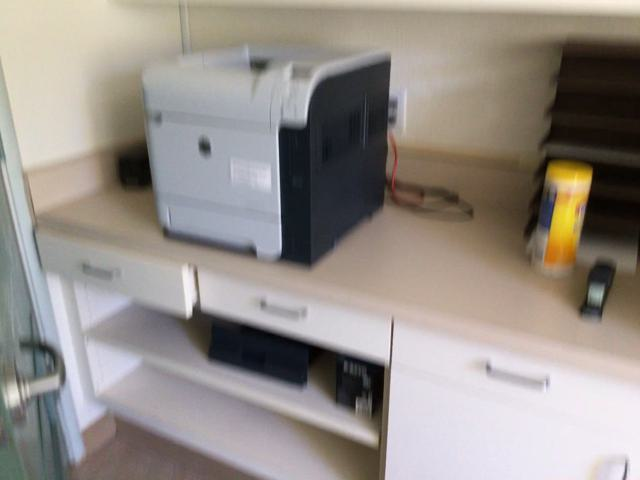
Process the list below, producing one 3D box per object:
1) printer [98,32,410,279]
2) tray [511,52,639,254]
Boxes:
[{"bbox_3d":[-0.130,-0.250,1.390,0.510,0.410,0.490,14,28,27],"label":"printer"},{"bbox_3d":[0.650,-0.200,1.280,0.340,0.370,0.220,14,28,27],"label":"tray"}]
